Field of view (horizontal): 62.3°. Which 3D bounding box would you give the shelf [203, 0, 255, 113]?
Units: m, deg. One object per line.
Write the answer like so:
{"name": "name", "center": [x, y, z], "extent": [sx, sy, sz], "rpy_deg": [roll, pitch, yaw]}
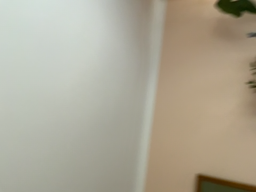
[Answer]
{"name": "shelf", "center": [0.830, -0.450, 1.390], "extent": [0.350, 0.490, 1.080], "rpy_deg": [21, -106, -56]}
